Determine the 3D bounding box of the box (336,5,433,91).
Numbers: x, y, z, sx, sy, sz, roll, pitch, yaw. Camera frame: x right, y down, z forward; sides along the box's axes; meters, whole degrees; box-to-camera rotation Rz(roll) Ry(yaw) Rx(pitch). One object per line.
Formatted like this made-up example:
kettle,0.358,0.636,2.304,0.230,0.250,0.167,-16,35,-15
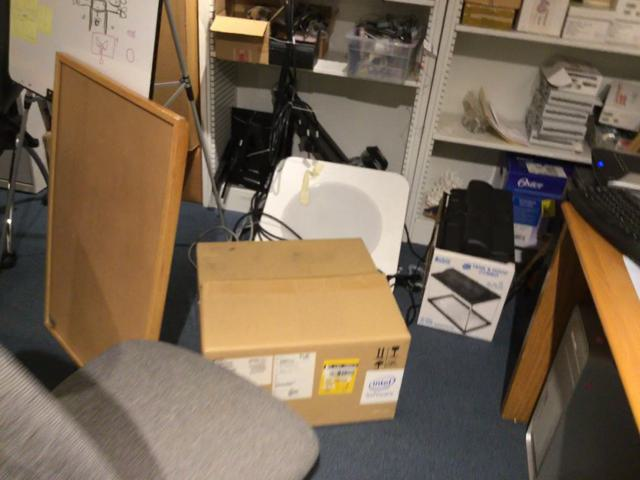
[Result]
box,0.270,-0.790,2.340,0.330,0.220,0.440,10,29,5

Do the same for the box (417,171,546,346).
box,0.580,0.050,2.190,0.340,0.420,0.500,10,29,5

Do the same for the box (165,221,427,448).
box,-0.110,0.260,1.830,0.670,0.360,0.650,1,30,-10

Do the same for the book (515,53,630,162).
book,0.990,-0.540,2.320,0.280,0.310,0.350,10,29,5
